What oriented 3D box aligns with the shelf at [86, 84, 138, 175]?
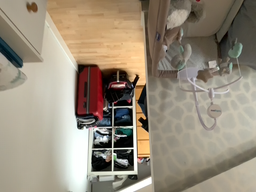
[{"bbox_3d":[-0.260,0.580,3.750,0.800,1.480,0.490,-3,162,2],"label":"shelf"}]
